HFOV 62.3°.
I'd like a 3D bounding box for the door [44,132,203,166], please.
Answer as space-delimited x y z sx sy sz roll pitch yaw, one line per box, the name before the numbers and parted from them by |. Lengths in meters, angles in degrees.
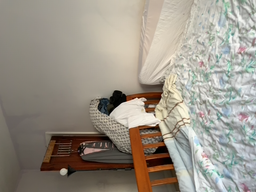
door | -0.050 0.680 2.860 0.740 1.900 0.040 -118 32 -69
